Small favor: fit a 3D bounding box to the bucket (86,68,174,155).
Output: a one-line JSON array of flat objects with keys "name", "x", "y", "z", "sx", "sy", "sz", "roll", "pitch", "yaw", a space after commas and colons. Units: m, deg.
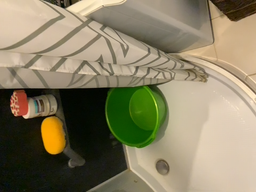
[{"name": "bucket", "x": 0.010, "y": 0.090, "z": 1.230, "sx": 0.330, "sy": 0.280, "sz": 0.400, "roll": -18, "pitch": 83, "yaw": 36}]
